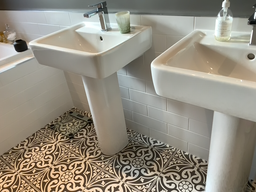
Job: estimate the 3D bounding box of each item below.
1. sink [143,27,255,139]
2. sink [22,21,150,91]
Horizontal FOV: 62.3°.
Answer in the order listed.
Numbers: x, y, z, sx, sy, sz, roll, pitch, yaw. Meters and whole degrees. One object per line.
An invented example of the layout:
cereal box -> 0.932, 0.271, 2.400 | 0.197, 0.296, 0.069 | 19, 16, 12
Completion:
sink -> 0.410, -0.080, 0.760 | 0.550, 0.180, 0.440 | 17, 39, 33
sink -> -0.220, -0.260, 1.180 | 0.530, 0.170, 0.430 | 17, 39, 33
